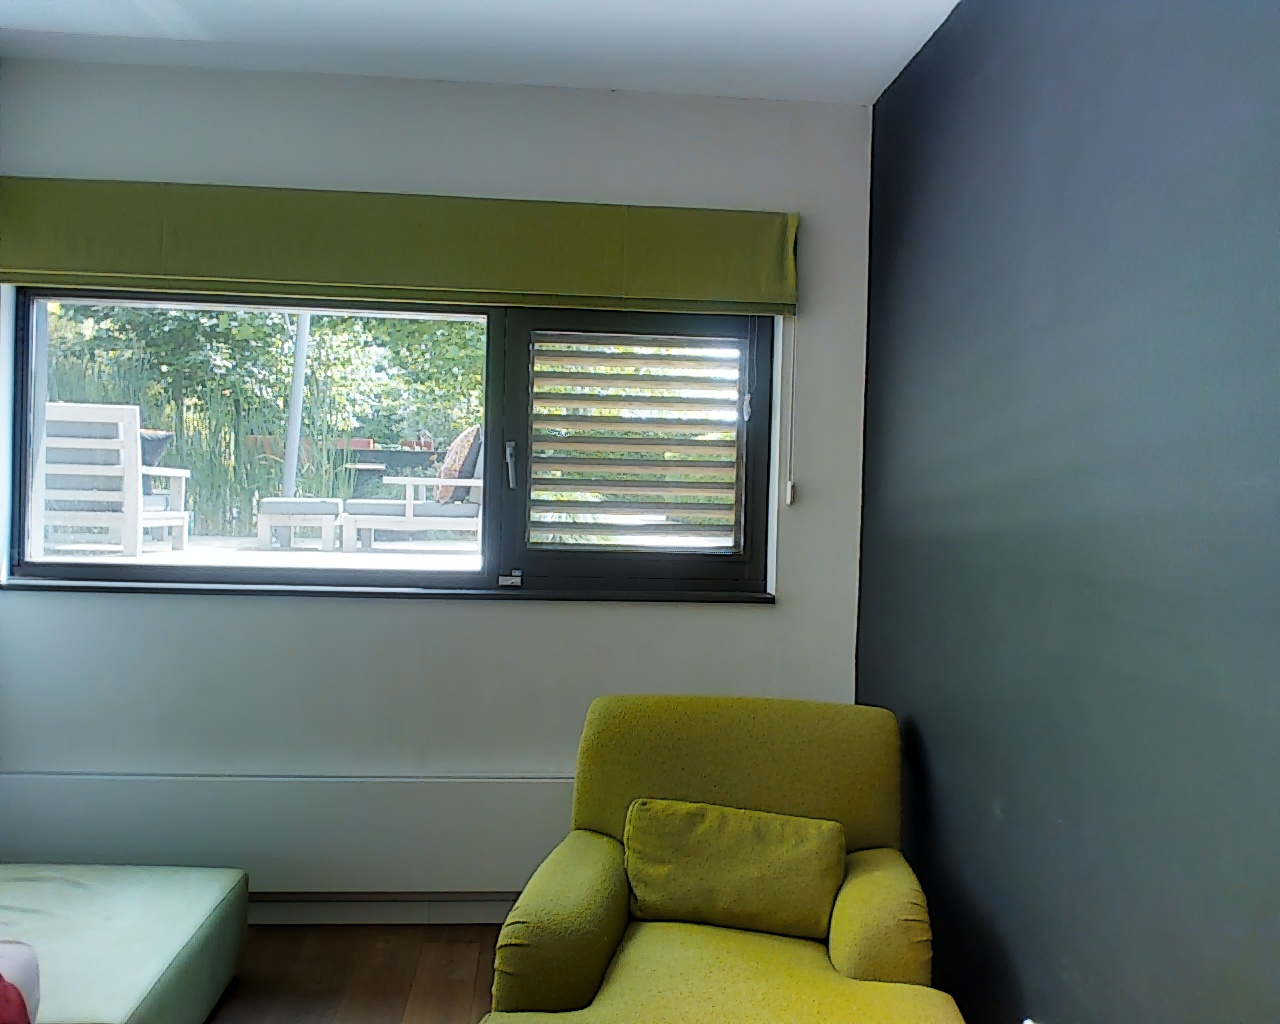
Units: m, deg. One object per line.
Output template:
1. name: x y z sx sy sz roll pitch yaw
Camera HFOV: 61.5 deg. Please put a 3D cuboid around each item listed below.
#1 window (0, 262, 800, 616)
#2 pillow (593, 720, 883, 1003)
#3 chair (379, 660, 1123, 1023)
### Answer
1. window: -0.780 -0.210 3.430 2.550 1.020 0.190 1 1 -5
2. pillow: 0.240 0.880 2.710 0.350 0.640 0.170 45 13 -4
3. chair: 0.230 0.910 2.460 1.110 0.850 1.670 2 1 6
